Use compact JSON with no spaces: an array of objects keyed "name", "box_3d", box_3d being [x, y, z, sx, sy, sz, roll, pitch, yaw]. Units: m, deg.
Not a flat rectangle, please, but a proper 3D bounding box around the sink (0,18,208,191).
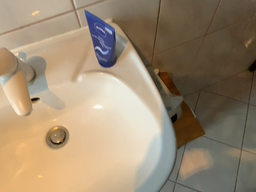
[{"name":"sink","box_3d":[-0.190,0.110,0.520,0.550,0.180,0.440,-22,66,-10]}]
